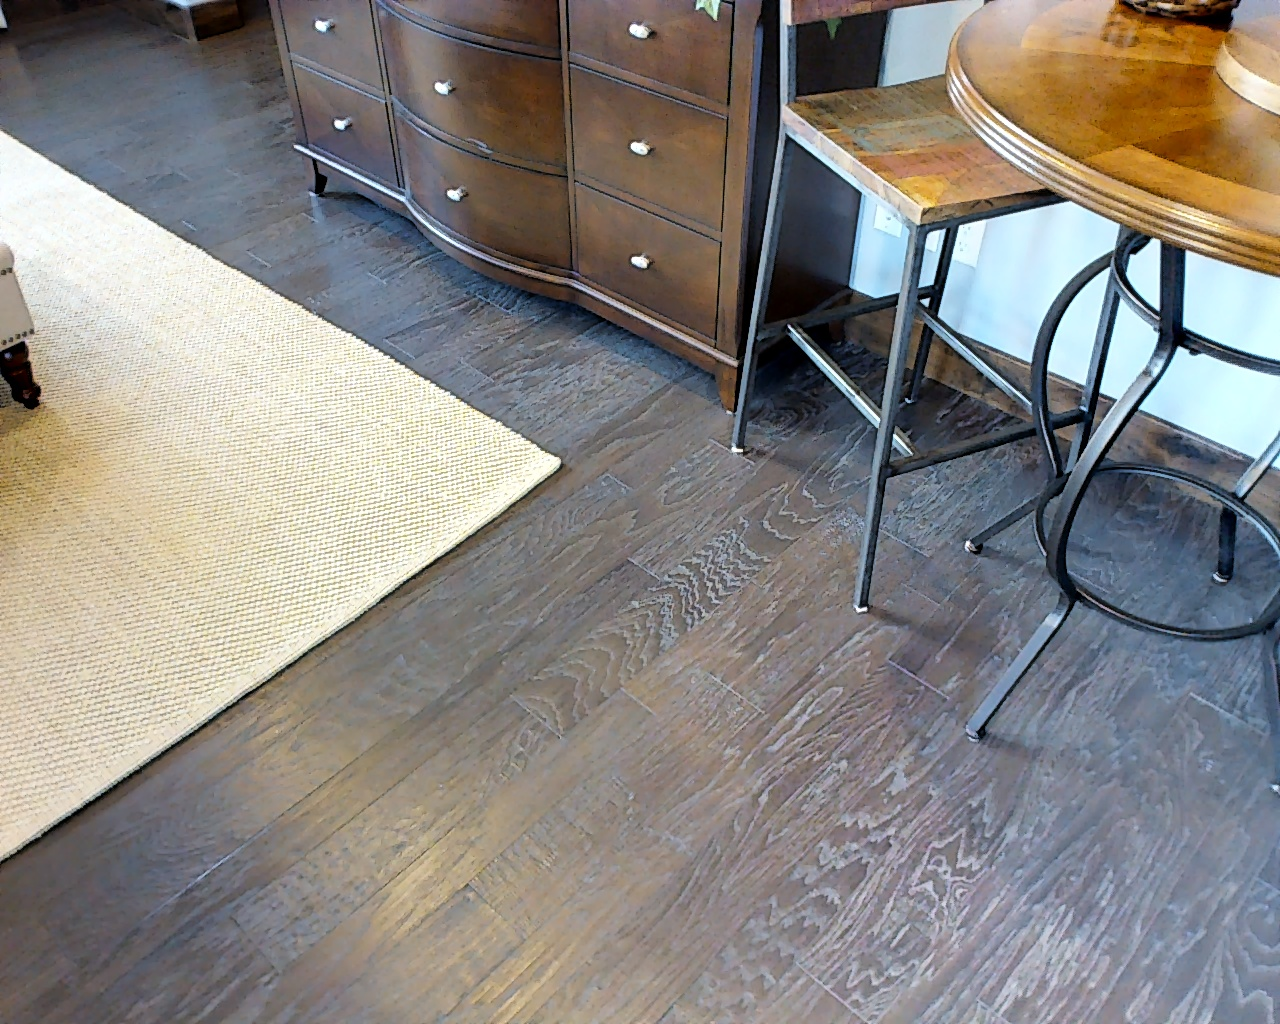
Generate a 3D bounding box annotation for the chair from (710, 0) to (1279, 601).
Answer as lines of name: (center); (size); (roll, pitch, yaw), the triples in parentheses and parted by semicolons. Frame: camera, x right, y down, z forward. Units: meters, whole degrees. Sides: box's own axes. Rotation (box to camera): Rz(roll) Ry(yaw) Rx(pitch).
chair: (0.530, -0.460, 1.900); (0.580, 1.010, 0.550); (-17, 45, -18)
